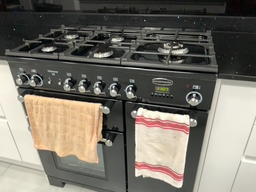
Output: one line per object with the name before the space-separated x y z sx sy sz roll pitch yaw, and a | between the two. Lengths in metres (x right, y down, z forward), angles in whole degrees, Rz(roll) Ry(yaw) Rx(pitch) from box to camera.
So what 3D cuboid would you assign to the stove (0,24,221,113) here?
stove | -0.050 -0.210 1.120 0.920 0.180 0.590 6 32 13
